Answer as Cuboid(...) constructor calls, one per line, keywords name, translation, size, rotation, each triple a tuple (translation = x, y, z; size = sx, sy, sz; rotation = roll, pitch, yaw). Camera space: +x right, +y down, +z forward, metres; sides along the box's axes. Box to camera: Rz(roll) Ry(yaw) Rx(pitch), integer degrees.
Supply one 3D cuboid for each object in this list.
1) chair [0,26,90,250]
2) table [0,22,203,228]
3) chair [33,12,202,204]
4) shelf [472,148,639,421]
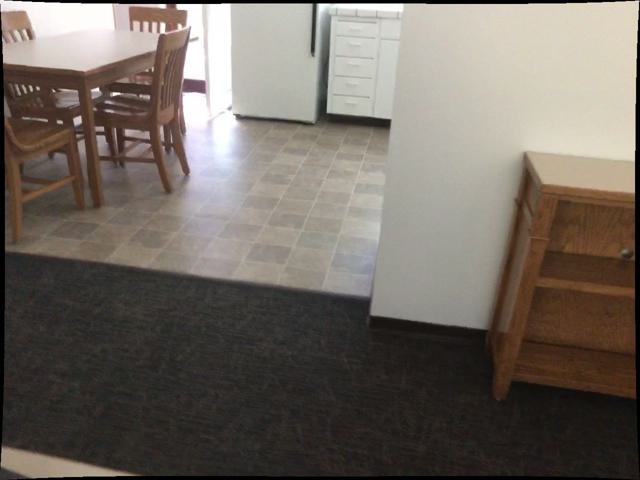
Cuboid(name="chair", translation=(-1.498, -0.491, 2.660), size=(0.519, 0.871, 0.540), rotation=(6, 27, 5))
Cuboid(name="table", translation=(-1.348, -0.751, 3.350), size=(0.919, 0.771, 1.340), rotation=(6, 28, 5))
Cuboid(name="chair", translation=(-1.068, -0.741, 3.210), size=(0.639, 0.901, 0.510), rotation=(6, 27, 5))
Cuboid(name="shelf", translation=(1.008, 0.160, 1.820), size=(0.879, 0.751, 0.350), rotation=(6, 27, 5))
